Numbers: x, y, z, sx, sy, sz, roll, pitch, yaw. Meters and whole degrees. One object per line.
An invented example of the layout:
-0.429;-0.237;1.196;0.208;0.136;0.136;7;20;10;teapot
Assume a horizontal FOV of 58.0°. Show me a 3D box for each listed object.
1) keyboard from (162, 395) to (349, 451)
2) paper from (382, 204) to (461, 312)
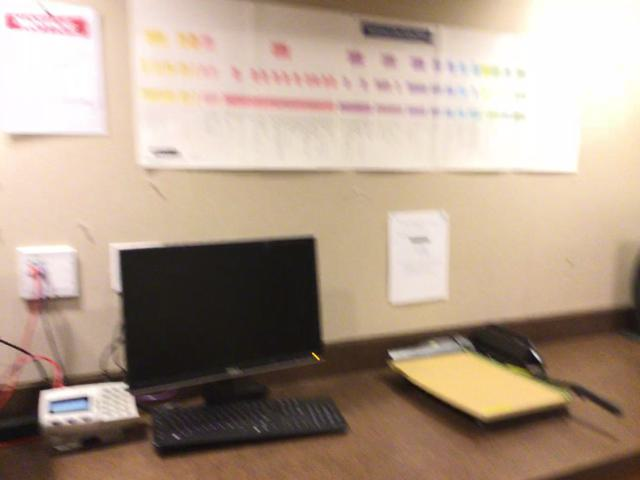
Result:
-0.150;0.430;1.370;0.420;0.050;0.120;-1;10;-8;keyboard
0.310;0.050;1.760;0.250;0.320;0.030;-2;8;-26;paper
